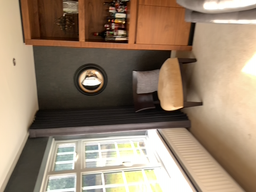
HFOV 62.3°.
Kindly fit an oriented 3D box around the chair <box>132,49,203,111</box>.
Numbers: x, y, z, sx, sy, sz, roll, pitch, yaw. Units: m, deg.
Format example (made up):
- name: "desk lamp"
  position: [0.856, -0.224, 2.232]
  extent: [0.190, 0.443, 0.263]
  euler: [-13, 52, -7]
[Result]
- name: "chair"
  position: [0.540, -0.190, 3.240]
  extent: [0.810, 0.770, 0.730]
  euler: [139, 130, -74]
